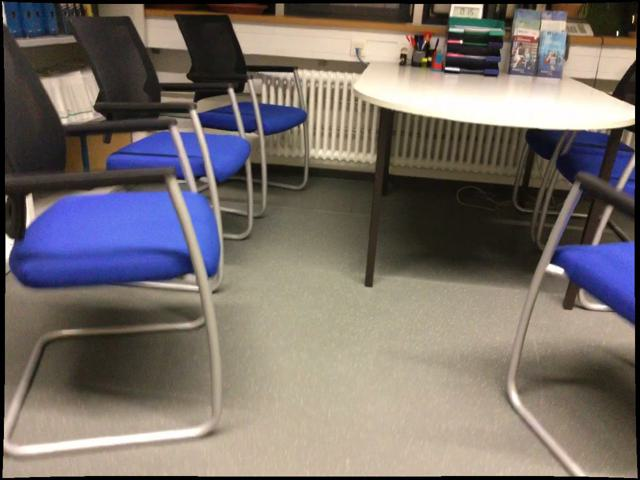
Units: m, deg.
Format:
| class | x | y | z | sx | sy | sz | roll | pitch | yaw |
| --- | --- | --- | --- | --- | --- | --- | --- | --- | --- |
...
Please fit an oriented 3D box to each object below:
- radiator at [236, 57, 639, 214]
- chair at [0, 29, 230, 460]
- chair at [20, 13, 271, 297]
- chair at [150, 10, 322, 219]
| class | x | y | z | sx | sy | sz | roll | pitch | yaw |
| --- | --- | --- | --- | --- | --- | --- | --- | --- | --- |
| radiator | 0.849 | -0.571 | 3.160 | 2.597 | 0.631 | 0.300 | 6 | 24 | 6 |
| chair | -0.579 | -0.030 | 1.450 | 0.649 | 0.881 | 0.600 | -2 | 24 | -12 |
| chair | -0.569 | -0.360 | 2.190 | 0.629 | 0.871 | 0.660 | 6 | 24 | 6 |
| chair | -0.380 | -0.681 | 2.960 | 0.639 | 0.871 | 0.760 | 6 | 24 | 6 |
